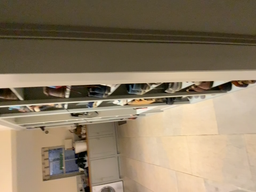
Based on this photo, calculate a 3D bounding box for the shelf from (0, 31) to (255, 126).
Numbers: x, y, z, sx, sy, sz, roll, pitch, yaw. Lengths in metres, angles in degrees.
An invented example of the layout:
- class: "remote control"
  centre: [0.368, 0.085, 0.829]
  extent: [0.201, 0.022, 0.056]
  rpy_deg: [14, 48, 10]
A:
- class: "shelf"
  centre: [-0.110, -0.060, 1.800]
  extent: [1.270, 2.190, 0.340]
  rpy_deg: [147, 118, -69]

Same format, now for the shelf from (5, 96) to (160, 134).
- class: "shelf"
  centre: [-0.740, 0.350, 3.690]
  extent: [1.300, 2.190, 0.330]
  rpy_deg: [147, 118, -69]
